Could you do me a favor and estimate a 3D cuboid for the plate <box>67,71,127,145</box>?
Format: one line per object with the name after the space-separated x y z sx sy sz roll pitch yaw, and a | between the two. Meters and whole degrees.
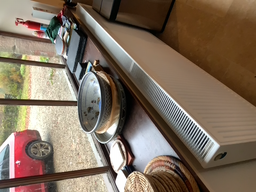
-0.190 0.070 1.200 0.280 0.190 0.290 -60 40 35 | plate
